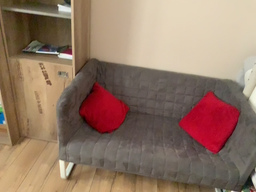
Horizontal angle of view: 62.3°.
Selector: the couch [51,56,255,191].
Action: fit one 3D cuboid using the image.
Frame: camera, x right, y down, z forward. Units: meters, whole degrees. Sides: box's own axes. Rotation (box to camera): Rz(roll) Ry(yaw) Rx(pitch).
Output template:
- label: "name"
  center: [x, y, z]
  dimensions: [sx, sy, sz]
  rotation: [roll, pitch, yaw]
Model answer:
- label: "couch"
  center: [0.200, 0.240, 1.630]
  dimensions: [1.240, 0.690, 0.770]
  rotation: [9, 30, 3]
